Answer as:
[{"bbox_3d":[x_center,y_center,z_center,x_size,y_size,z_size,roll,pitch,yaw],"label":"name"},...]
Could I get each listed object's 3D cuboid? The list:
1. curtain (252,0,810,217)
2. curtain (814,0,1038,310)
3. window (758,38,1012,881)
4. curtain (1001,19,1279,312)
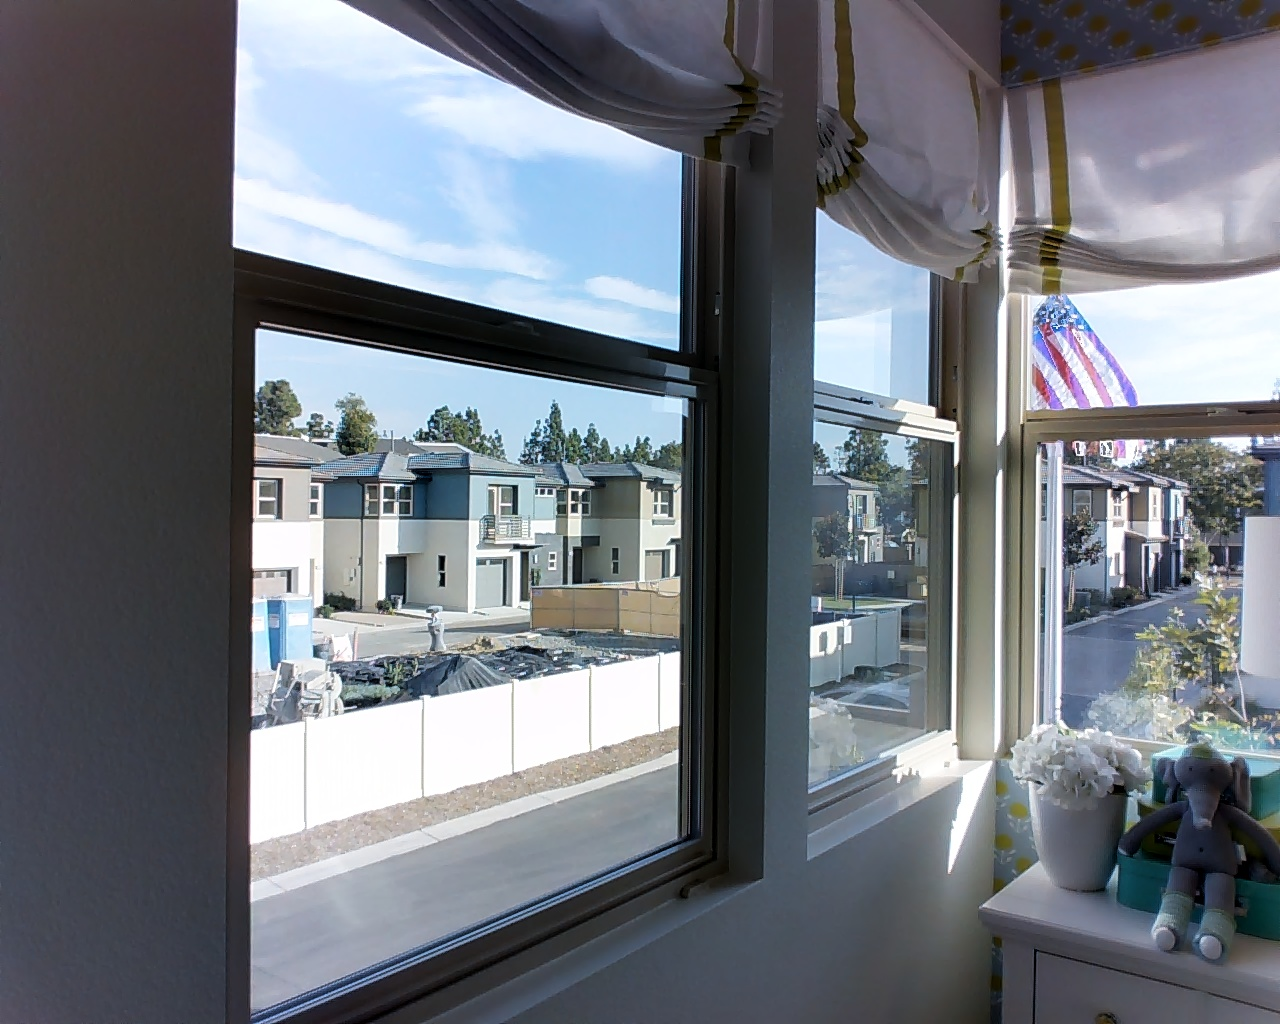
[{"bbox_3d":[-0.050,-0.680,1.210,0.090,0.490,0.840,1,0,37],"label":"curtain"},{"bbox_3d":[0.570,-0.680,2.010,0.080,0.460,0.860,1,0,37],"label":"curtain"},{"bbox_3d":[0.500,-0.080,2.040,0.140,1.321,0.800,1,0,37],"label":"window"},{"bbox_3d":[1.169,-0.690,2.110,0.890,0.490,0.070,1,0,37],"label":"curtain"}]
